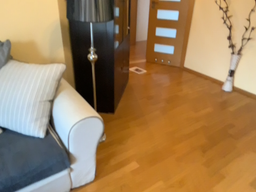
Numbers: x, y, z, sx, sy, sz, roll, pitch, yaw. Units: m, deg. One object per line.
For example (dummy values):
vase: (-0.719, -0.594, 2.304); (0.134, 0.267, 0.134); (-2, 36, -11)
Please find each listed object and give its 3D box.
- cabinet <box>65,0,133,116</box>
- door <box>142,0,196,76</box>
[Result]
cabinet: (-0.260, -0.900, 2.530); (0.470, 1.920, 1.140); (6, 29, 8)
door: (0.700, -1.500, 3.650); (0.850, 2.250, 0.130); (19, 33, 29)
